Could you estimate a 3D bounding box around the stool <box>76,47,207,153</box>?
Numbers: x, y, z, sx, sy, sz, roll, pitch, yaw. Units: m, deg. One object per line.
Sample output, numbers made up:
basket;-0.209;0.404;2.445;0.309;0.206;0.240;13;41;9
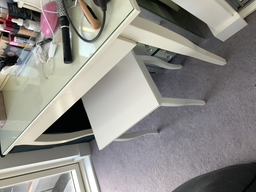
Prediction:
stool;0.070;0.040;1.110;0.420;0.460;0.290;-41;61;34
